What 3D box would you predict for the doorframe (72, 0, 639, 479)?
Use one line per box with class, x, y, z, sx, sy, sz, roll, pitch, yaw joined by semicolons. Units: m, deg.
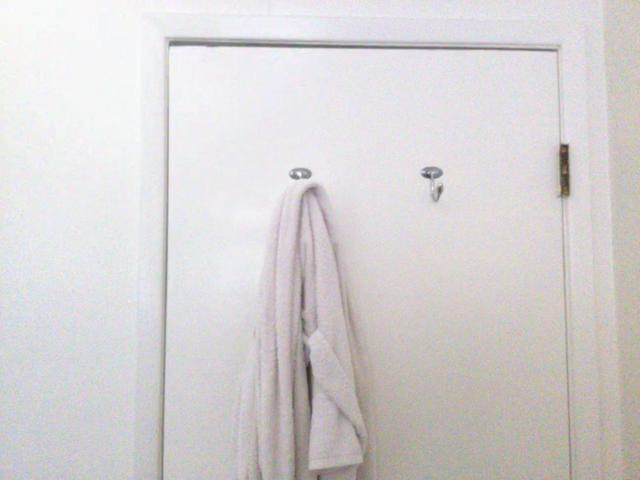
doorframe;0.070;0.590;0.950;0.920;2.050;0.070;0;-3;-2
